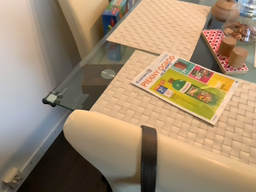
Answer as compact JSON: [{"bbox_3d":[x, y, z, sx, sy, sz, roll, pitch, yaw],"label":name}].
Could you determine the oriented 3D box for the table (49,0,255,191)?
[{"bbox_3d":[0.540,-0.230,1.280,0.920,0.760,1.730,17,50,15],"label":"table"}]
